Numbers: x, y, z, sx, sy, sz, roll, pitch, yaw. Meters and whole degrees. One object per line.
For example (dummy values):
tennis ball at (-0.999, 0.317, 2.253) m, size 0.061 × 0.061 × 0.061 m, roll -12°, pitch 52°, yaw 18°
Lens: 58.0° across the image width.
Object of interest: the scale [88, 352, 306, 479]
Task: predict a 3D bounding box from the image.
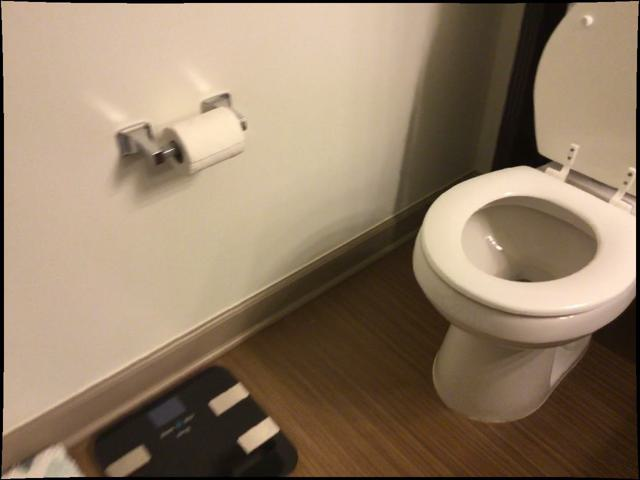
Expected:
scale at (-0.249, 0.421, 1.170) m, size 0.320 × 0.040 × 0.310 m, roll -30°, pitch 49°, yaw -27°
